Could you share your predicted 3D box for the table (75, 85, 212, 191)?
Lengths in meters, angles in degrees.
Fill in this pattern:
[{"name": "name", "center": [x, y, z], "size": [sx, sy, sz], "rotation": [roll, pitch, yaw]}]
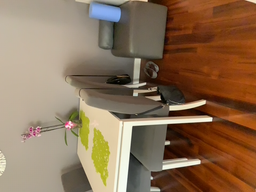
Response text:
[{"name": "table", "center": [0.000, 0.420, 2.090], "size": [1.240, 0.760, 0.820], "rotation": [-152, 65, -62]}]
